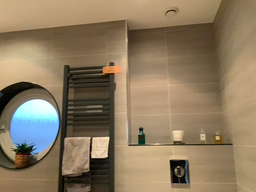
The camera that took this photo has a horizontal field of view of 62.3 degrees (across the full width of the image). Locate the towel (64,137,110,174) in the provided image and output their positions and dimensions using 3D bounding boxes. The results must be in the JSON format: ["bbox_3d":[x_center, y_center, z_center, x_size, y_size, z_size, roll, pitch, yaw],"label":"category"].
[{"bbox_3d":[-0.360,0.520,1.870,0.390,0.310,0.070,-2,-12,7],"label":"towel"}]
